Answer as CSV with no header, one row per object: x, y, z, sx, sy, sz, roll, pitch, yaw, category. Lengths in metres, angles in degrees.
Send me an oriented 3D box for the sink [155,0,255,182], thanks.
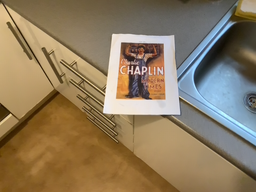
0.430,-0.070,0.730,0.400,0.170,0.570,35,66,18,sink
